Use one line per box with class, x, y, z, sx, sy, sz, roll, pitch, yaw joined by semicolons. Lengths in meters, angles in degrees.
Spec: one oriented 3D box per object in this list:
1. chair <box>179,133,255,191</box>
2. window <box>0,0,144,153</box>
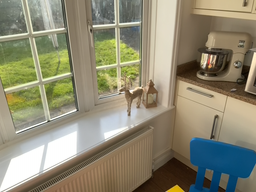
chair;0.540;0.660;1.340;0.400;0.660;0.400;11;28;21
window;-0.540;-0.390;1.270;1.660;1.350;0.130;-21;34;-37
